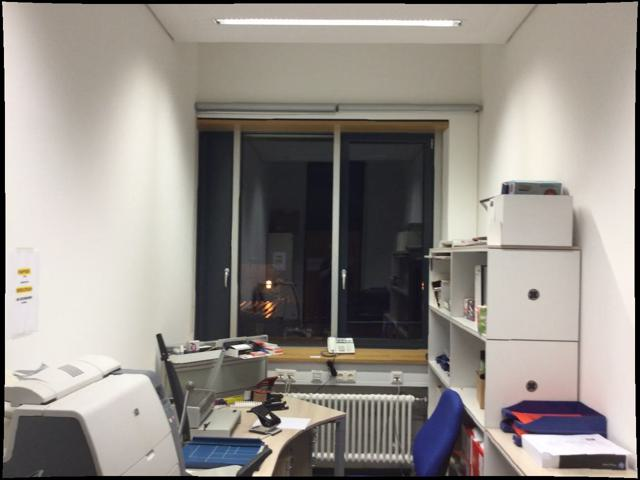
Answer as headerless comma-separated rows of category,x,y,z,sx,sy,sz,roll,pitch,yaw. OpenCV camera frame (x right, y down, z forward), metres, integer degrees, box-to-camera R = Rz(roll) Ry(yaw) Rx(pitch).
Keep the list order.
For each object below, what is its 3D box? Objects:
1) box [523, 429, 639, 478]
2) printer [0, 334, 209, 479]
box,0.969,0.781,2.130,0.350,0.070,0.250,3,1,0
printer,-0.719,0.631,1.560,0.689,0.621,0.600,3,1,1
